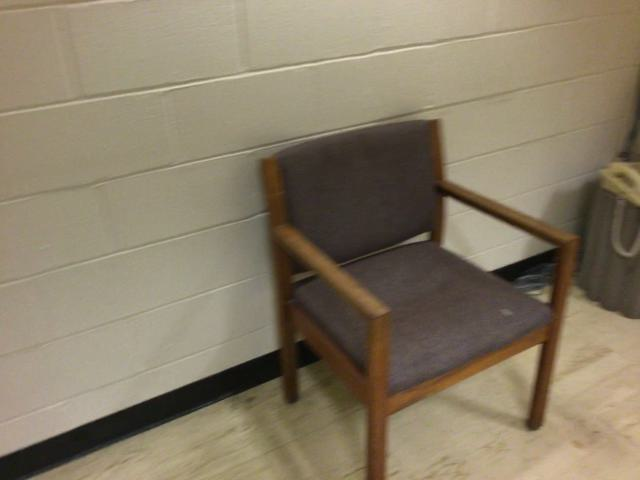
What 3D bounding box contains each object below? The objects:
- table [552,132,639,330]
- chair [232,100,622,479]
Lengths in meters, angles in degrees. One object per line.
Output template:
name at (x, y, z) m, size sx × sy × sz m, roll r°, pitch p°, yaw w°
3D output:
table at (1.250, -0.040, 2.110) m, size 0.470 × 0.550 × 0.530 m, roll -17°, pitch 28°, yaw -22°
chair at (0.250, 0.150, 1.600) m, size 0.680 × 0.860 × 0.660 m, roll -17°, pitch 28°, yaw -22°
